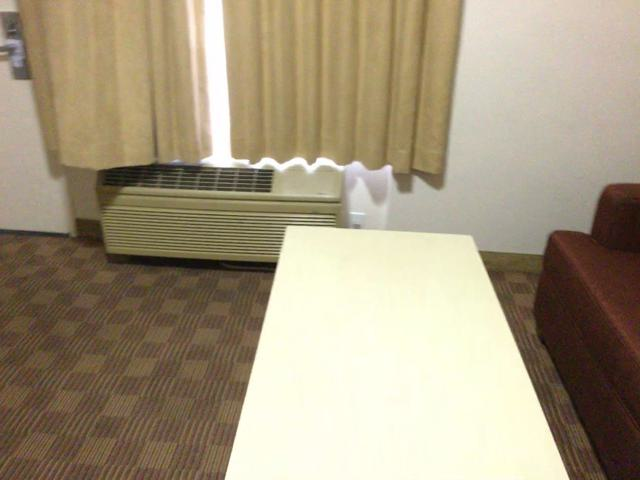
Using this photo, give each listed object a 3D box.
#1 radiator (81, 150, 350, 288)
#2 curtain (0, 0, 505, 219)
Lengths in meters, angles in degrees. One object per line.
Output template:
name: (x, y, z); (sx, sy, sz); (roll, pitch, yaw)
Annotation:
radiator: (-0.430, -0.090, 2.480); (1.080, 0.500, 0.160); (4, 26, 4)
curtain: (-0.310, -0.930, 2.050); (1.810, 1.550, 0.500); (3, 26, 2)
